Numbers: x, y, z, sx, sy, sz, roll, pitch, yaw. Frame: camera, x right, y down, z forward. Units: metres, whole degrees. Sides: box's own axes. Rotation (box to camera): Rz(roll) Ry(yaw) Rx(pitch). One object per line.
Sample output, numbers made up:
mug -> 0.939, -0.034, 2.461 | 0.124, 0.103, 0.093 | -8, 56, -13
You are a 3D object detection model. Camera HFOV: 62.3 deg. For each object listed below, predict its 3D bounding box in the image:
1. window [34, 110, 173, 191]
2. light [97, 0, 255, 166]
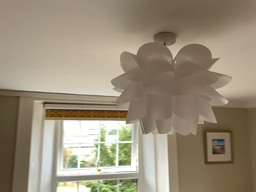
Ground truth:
window -> -0.230, 0.910, 2.250 | 1.360, 1.460, 0.350 | 2, -11, -14
light -> 0.120, -0.070, 0.740 | 0.420, 0.460, 0.420 | 2, -39, -12
